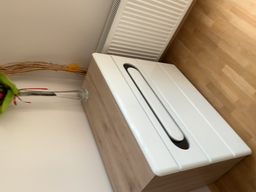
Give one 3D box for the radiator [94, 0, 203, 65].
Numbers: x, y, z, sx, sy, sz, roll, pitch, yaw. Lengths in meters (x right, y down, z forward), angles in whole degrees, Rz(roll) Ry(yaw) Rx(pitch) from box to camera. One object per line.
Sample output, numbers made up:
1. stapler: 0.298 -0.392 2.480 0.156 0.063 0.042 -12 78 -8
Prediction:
1. radiator: 0.170 -0.620 1.740 0.180 0.700 0.680 58 133 39
